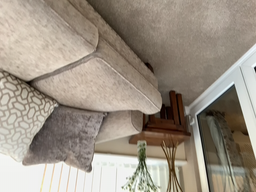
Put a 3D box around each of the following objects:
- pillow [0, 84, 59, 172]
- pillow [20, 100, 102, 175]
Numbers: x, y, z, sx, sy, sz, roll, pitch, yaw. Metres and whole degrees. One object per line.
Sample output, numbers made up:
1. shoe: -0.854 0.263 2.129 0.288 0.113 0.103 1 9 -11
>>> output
1. pillow: -0.810 0.190 1.400 0.260 0.520 0.550 8 179 38
2. pillow: -0.530 0.330 1.710 0.520 0.500 0.260 9 -177 -20
